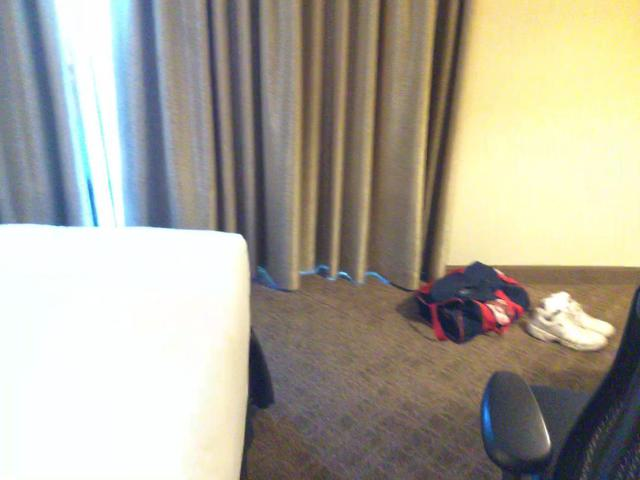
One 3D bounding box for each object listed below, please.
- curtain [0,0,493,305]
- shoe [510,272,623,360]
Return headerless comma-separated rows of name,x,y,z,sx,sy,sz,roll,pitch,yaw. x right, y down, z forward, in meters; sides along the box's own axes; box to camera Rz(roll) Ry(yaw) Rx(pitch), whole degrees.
curtain,-0.790,-0.580,2.380,2.820,1.710,0.360,0,22,-2
shoe,1.020,0.300,2.390,0.310,0.140,0.380,18,27,36
